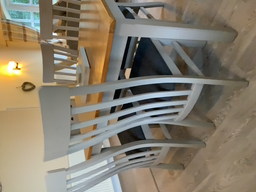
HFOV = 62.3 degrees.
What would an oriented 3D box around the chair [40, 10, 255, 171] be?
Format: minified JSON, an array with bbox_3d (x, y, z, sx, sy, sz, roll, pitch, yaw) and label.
[{"bbox_3d":[0.060,-0.080,1.260,0.700,1.050,0.460,-113,30,-42],"label":"chair"}]
